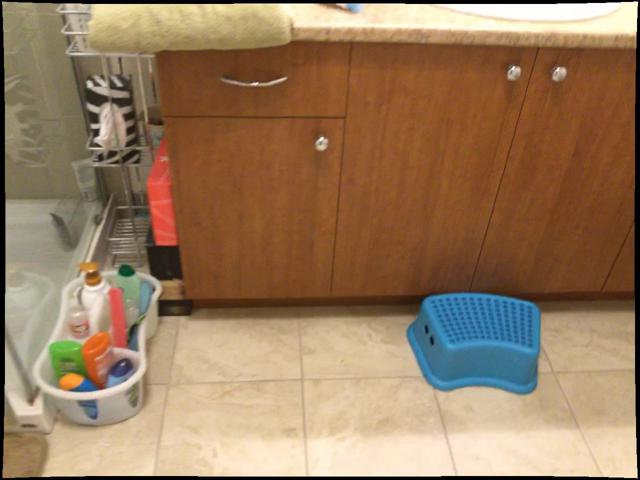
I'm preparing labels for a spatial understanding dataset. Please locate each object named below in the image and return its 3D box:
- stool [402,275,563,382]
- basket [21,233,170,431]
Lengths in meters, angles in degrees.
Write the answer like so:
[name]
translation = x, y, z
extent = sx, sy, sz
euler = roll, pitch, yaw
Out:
[stool]
translation = 0.420, 0.230, 1.550
extent = 0.340, 0.120, 0.240
euler = -3, 42, -7
[basket]
translation = -0.519, 0.210, 1.420
extent = 0.240, 0.230, 0.410
euler = -3, 42, -7
